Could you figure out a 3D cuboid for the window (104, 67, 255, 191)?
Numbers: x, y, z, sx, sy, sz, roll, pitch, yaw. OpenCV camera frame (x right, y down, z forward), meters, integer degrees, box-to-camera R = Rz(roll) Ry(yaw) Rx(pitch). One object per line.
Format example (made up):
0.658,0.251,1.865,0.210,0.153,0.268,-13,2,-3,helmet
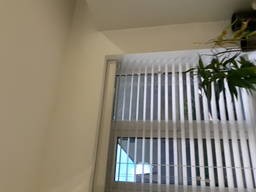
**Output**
0.380,0.210,1.320,0.080,1.000,0.820,67,-156,-64,window
